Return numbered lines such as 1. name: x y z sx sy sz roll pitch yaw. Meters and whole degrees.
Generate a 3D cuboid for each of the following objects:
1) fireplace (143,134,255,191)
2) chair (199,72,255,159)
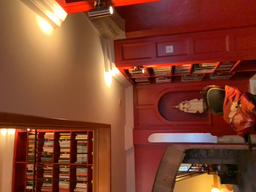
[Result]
1. fireplace: 1.500 2.590 4.510 2.170 1.970 3.410 29 -120 -75
2. chair: 1.490 0.230 2.680 0.890 1.010 0.610 -80 -18 -44
